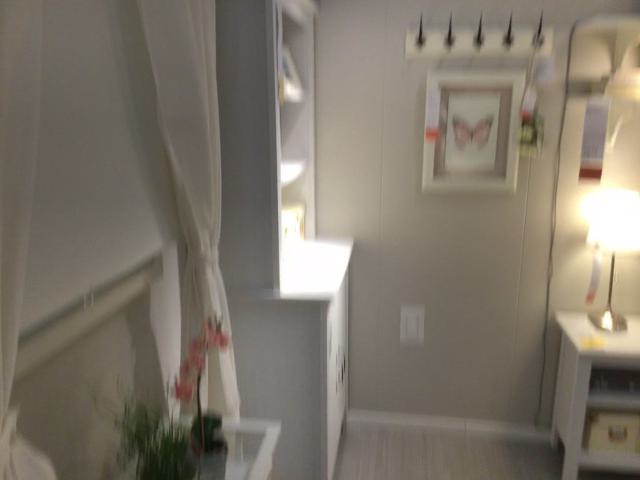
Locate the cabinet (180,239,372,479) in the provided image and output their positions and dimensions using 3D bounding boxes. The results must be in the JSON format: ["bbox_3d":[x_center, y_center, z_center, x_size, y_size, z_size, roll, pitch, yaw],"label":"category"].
[{"bbox_3d":[-0.100,0.530,2.220,0.500,0.930,0.770,0,12,12],"label":"cabinet"}]

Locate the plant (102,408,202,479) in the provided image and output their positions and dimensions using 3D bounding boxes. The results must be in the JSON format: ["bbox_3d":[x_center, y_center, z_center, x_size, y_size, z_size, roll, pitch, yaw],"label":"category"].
[{"bbox_3d":[-0.340,0.480,1.200,0.120,0.190,0.170,0,12,12],"label":"plant"}]

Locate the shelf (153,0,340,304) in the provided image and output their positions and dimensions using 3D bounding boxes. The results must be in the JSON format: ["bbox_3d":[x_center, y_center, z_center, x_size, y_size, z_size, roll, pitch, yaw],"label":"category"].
[{"bbox_3d":[-0.190,-0.380,2.020,0.360,0.990,0.810,0,12,12],"label":"shelf"}]
